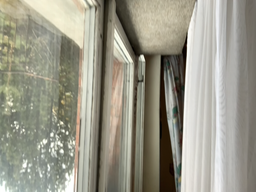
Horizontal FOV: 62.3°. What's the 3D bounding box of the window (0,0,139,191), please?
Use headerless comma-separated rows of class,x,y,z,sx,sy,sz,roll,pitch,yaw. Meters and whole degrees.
window,-0.160,0.290,0.590,0.150,1.530,1.900,1,176,9
